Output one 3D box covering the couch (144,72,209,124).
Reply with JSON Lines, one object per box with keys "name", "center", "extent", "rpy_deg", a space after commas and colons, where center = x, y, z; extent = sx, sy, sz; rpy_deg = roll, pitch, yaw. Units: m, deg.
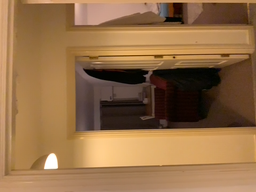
{"name": "couch", "center": [0.890, 0.100, 4.400], "extent": [1.520, 0.920, 0.880], "rpy_deg": [111, 158, -84]}
